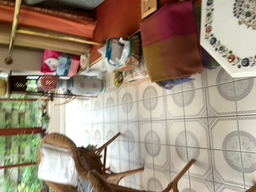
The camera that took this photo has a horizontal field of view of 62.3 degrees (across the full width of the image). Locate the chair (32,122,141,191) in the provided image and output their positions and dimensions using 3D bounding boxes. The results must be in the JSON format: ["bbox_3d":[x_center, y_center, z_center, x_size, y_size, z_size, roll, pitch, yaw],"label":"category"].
[{"bbox_3d":[-0.460,0.740,2.150,0.660,0.810,0.690,41,122,51],"label":"chair"}]
